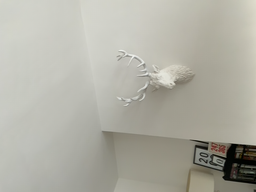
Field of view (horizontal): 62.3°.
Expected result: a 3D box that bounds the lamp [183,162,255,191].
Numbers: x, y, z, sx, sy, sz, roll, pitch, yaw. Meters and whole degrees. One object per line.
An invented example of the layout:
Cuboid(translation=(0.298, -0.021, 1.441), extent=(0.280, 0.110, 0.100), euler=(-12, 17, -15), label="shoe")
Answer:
Cuboid(translation=(1.350, 1.420, 3.090), extent=(0.510, 1.030, 0.560), euler=(-65, -25, -59), label="lamp")
